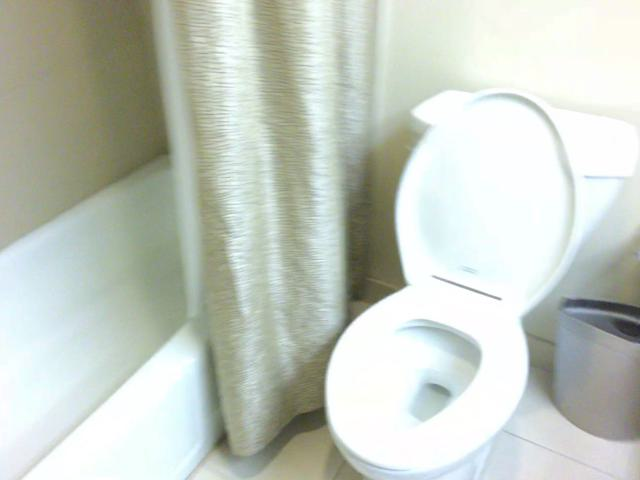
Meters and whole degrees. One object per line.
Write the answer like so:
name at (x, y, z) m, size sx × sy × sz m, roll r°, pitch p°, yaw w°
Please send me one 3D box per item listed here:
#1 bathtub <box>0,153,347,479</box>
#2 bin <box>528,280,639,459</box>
bathtub at (-0.600, 0.330, 1.450) m, size 0.730 × 0.410 × 1.400 m, roll 19°, pitch 41°, yaw 27°
bin at (0.720, 0.320, 1.380) m, size 0.340 × 0.320 × 0.170 m, roll 19°, pitch 41°, yaw 27°
